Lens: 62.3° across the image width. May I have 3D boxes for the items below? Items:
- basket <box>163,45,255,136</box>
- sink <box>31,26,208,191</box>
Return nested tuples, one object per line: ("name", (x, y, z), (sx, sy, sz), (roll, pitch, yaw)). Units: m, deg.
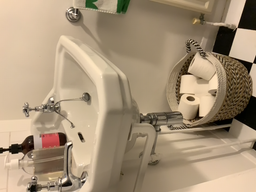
("basket", (0.430, -0.050, 1.130), (0.340, 0.270, 0.370), (38, 124, 56))
("sink", (-0.130, 0.050, 0.670), (0.590, 0.290, 0.410), (44, 129, 54))
